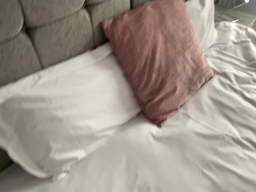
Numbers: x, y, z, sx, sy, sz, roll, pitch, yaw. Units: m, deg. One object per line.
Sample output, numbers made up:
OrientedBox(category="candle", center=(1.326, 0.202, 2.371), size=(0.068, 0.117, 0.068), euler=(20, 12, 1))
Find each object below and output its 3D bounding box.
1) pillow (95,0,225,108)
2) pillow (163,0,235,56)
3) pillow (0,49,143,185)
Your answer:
OrientedBox(category="pillow", center=(0.200, -0.220, 0.990), size=(0.140, 0.530, 0.610), euler=(41, 19, 20))
OrientedBox(category="pillow", center=(0.450, -0.460, 1.300), size=(0.120, 0.370, 0.450), euler=(38, 33, 24))
OrientedBox(category="pillow", center=(-0.200, 0.030, 0.760), size=(0.120, 0.370, 0.540), euler=(38, 27, 21))
